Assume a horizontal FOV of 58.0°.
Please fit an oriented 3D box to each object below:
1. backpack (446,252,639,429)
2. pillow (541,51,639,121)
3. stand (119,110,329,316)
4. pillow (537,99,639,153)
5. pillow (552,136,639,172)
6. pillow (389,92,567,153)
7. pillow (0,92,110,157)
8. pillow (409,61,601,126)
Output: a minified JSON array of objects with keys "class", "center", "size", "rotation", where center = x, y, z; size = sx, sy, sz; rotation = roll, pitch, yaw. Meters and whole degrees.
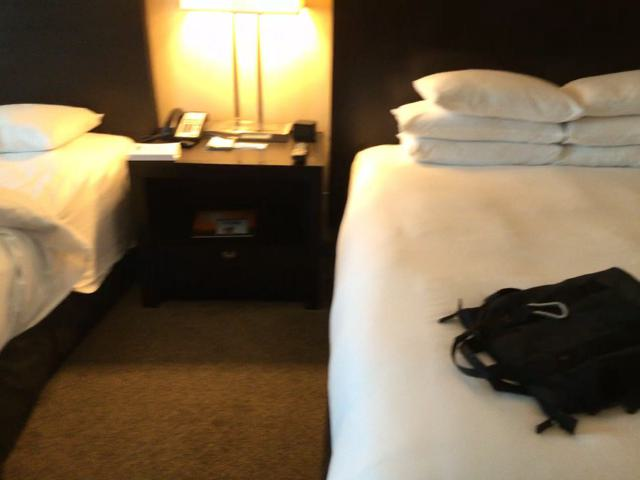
[{"class":"backpack","center":[0.520,0.170,1.080],"size":[0.490,0.120,0.390],"rotation":[3,23,2]},{"class":"pillow","center":[1.230,-0.590,2.200],"size":[0.610,0.190,0.420],"rotation":[3,23,2]},{"class":"stand","center":[-0.360,-0.140,2.520],"size":[0.760,0.720,0.550],"rotation":[3,23,2]},{"class":"pillow","center":[1.180,-0.410,2.100],"size":[0.700,0.150,0.160],"rotation":[3,23,2]},{"class":"pillow","center":[1.160,-0.310,2.110],"size":[0.560,0.090,0.140],"rotation":[3,23,2]},{"class":"pillow","center":[0.600,-0.480,2.320],"size":[0.610,0.140,0.400],"rotation":[3,23,2]},{"class":"pillow","center":[-1.300,-0.490,2.380],"size":[0.700,0.160,0.420],"rotation":[3,23,2]},{"class":"pillow","center":[0.680,-0.580,2.250],"size":[0.610,0.160,0.430],"rotation":[3,23,2]}]
